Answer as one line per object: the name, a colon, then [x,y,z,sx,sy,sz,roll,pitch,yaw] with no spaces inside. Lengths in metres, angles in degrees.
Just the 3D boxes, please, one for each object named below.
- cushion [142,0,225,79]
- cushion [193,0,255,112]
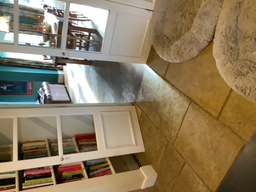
cushion: [0.510,-0.820,2.020,0.820,0.090,1.050,50,131,49]
cushion: [0.910,-0.400,1.310,0.920,0.070,0.960,51,132,49]
